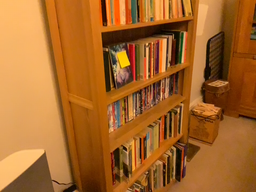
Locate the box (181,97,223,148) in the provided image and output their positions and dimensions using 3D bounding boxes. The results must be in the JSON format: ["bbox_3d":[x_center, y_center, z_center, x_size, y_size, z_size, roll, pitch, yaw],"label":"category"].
[{"bbox_3d":[0.830,0.290,2.400,0.330,0.410,0.300,16,28,37],"label":"box"}]

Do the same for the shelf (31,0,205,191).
[{"bbox_3d":[0.060,-0.110,1.280,0.380,1.990,0.960,15,28,36],"label":"shelf"}]
